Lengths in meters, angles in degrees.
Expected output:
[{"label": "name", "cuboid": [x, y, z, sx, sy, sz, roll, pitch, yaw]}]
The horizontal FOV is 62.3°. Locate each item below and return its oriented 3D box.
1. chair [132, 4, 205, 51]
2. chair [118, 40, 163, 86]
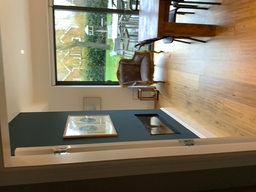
[{"label": "chair", "cuboid": [0.570, -0.980, 3.180, 0.540, 0.910, 0.570, -133, 44, -73]}, {"label": "chair", "cuboid": [0.260, -0.710, 4.830, 0.700, 0.840, 0.880, 148, 121, -77]}]
